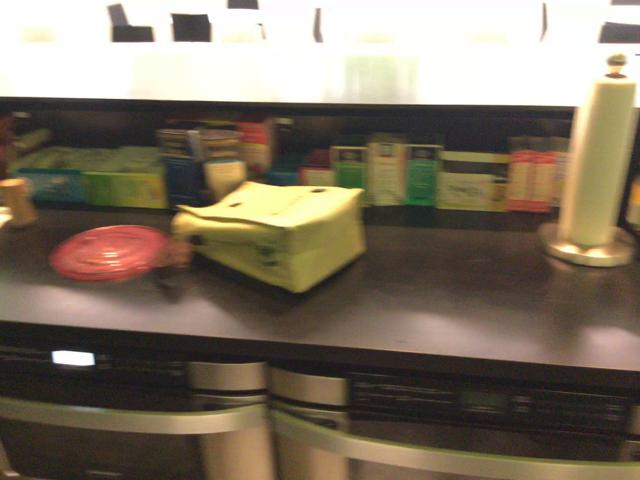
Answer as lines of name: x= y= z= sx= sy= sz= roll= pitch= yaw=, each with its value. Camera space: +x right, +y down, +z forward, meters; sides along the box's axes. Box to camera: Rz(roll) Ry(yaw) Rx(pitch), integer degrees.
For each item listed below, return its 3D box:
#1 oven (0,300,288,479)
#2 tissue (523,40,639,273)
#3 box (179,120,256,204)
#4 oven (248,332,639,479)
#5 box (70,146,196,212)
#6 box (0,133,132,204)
oven: x=-0.390 y=0.330 z=0.960 sx=0.670 sy=0.460 sz=0.080 roll=5 pitch=27 yaw=9
tissue: x=0.470 y=-0.140 z=0.960 sx=0.180 sy=0.340 sz=0.160 roll=5 pitch=27 yaw=9
box: x=-0.200 y=-0.160 z=1.160 sx=0.100 sy=0.120 sz=0.150 roll=5 pitch=27 yaw=9
oven: x=0.220 y=0.380 z=0.860 sx=0.630 sy=0.430 sz=0.100 roll=5 pitch=27 yaw=9
box: x=-0.410 y=-0.140 z=1.290 sx=0.210 sy=0.080 sz=0.160 roll=5 pitch=27 yaw=9
box: x=-0.580 y=-0.170 z=1.330 sx=0.210 sy=0.090 sz=0.190 roll=5 pitch=27 yaw=9
